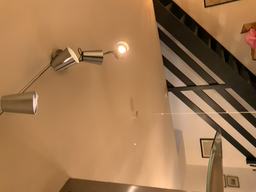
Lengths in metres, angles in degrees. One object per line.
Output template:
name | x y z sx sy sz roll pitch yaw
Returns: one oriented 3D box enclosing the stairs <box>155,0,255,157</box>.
stairs | 2.030 -0.400 3.470 0.780 2.610 3.070 -61 -38 -53
